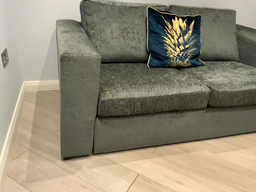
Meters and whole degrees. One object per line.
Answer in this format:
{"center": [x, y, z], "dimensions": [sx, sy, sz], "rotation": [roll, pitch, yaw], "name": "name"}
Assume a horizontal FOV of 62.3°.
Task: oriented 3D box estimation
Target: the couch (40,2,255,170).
{"center": [0.350, -0.220, 1.630], "dimensions": [1.740, 0.760, 1.010], "rotation": [-4, 28, -15], "name": "couch"}

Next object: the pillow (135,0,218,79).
{"center": [0.370, -0.440, 1.640], "dimensions": [0.480, 0.410, 0.160], "rotation": [-31, 27, 10], "name": "pillow"}
